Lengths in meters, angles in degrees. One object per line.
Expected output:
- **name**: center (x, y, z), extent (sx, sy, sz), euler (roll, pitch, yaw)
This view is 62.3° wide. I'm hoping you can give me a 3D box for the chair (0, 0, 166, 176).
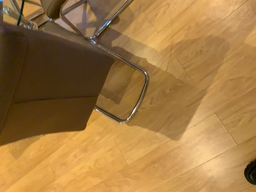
- **chair**: center (-0.330, -0.080, 1.010), extent (0.570, 0.990, 0.450), euler (33, 104, 27)
